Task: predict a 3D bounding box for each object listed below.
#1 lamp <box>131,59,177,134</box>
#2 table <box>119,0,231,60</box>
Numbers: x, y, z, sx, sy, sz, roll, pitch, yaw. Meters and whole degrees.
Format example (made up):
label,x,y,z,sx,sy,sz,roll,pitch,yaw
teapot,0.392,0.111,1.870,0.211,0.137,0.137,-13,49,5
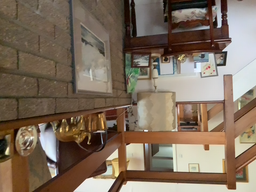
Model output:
label,x,y,z,sx,sy,sz,roll,pitch,yaw
lamp,0.300,0.010,2.290,0.420,0.710,0.450,-2,180,14
table,0.470,-0.840,2.270,1.030,0.770,0.490,-2,180,11
